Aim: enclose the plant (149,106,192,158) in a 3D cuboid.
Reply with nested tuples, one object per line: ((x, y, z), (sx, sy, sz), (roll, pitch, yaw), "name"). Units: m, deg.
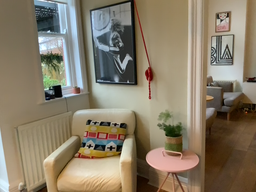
((0.380, 0.300, 1.870), (0.290, 0.340, 0.260), (5, 14, 35), "plant")
